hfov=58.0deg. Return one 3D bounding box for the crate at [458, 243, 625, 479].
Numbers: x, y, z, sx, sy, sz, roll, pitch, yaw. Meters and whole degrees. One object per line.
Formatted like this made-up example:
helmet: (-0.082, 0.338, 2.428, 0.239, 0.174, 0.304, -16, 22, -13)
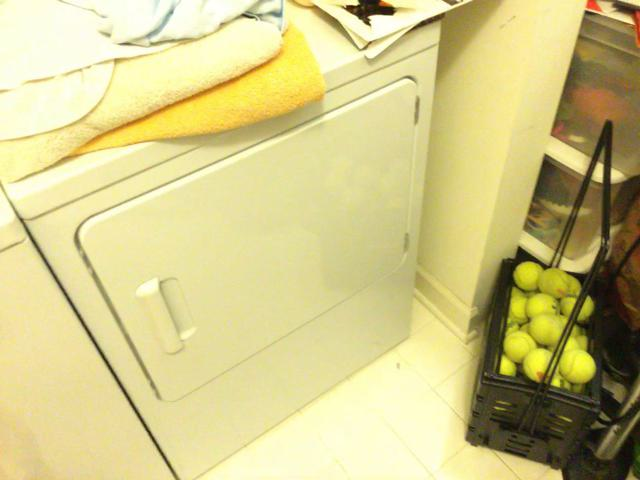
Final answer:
crate: (0.480, 0.270, 1.280, 0.240, 0.350, 0.340, 13, 49, 13)
